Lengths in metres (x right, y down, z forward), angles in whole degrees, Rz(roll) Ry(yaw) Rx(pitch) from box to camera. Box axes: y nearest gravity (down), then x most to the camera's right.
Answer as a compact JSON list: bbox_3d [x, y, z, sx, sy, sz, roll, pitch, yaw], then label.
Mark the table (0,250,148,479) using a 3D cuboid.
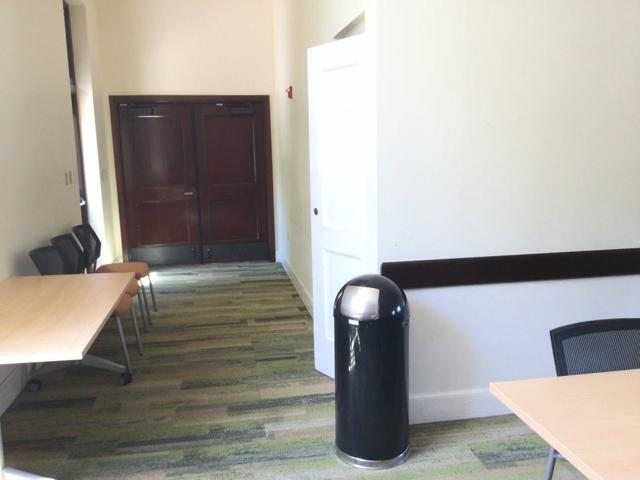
[{"bbox_3d":[-1.370,0.570,2.910,0.740,0.750,1.620,-3,9,-10],"label":"table"}]
